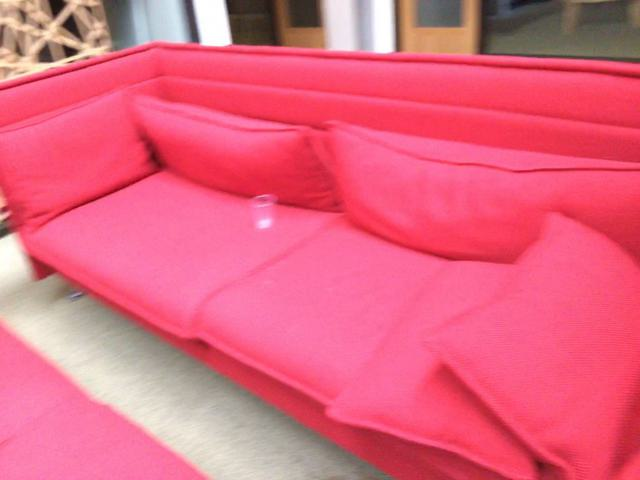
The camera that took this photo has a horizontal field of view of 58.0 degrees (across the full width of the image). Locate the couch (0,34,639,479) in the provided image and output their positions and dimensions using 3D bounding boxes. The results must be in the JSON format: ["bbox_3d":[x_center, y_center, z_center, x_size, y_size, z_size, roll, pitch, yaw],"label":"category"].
[{"bbox_3d":[-0.160,-0.090,1.840,2.490,0.880,0.980,17,37,39],"label":"couch"}]
